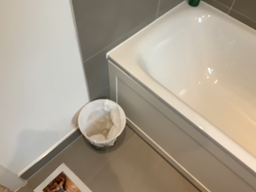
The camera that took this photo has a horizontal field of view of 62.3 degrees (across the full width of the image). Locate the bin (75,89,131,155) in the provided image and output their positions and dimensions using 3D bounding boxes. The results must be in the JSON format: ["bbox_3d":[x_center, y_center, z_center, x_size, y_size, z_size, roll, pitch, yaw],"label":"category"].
[{"bbox_3d":[-0.140,0.160,1.260,0.220,0.280,0.200,-39,67,-24],"label":"bin"}]

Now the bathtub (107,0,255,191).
[{"bbox_3d":[0.710,0.250,1.070,0.690,0.590,1.640,-39,67,-24],"label":"bathtub"}]
